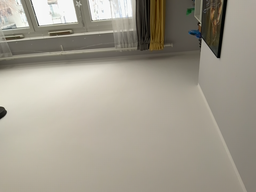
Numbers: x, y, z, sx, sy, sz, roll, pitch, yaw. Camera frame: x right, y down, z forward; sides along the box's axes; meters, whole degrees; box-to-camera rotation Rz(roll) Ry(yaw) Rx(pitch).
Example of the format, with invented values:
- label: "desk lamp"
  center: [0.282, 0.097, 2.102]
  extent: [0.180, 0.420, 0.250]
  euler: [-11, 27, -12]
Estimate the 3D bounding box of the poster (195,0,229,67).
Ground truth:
- label: "poster"
  center: [0.690, -0.810, 1.750]
  extent: [0.050, 0.950, 0.640]
  euler: [-3, -148, 5]
